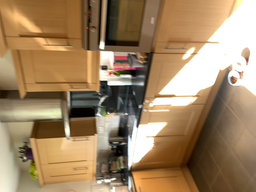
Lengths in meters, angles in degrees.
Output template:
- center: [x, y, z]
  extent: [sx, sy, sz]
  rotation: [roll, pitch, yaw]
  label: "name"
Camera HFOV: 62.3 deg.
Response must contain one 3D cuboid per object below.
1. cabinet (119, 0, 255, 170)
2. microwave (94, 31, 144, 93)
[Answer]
- center: [0.510, -0.130, 2.530]
  extent: [0.600, 0.910, 2.310]
  rotation: [-108, 22, -52]
  label: "cabinet"
- center: [-0.130, -0.370, 2.390]
  extent: [0.290, 0.460, 0.600]
  rotation: [-108, 22, -53]
  label: "microwave"
